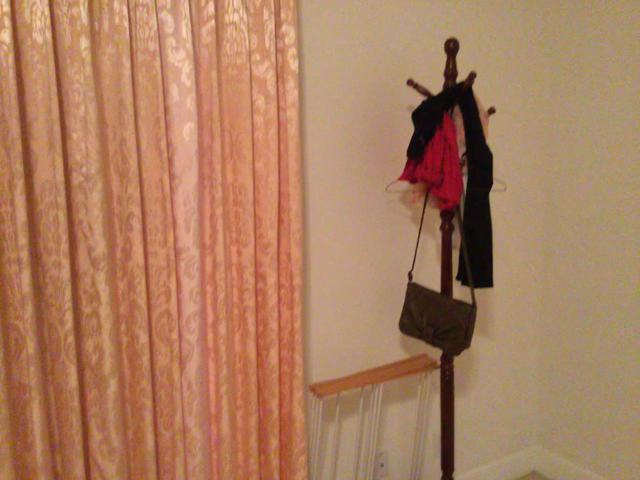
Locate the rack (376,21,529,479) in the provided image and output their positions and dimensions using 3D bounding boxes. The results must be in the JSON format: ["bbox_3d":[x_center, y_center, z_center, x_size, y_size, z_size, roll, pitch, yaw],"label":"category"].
[{"bbox_3d":[0.440,0.130,1.900,0.300,1.540,0.300,-6,5,-34],"label":"rack"}]
